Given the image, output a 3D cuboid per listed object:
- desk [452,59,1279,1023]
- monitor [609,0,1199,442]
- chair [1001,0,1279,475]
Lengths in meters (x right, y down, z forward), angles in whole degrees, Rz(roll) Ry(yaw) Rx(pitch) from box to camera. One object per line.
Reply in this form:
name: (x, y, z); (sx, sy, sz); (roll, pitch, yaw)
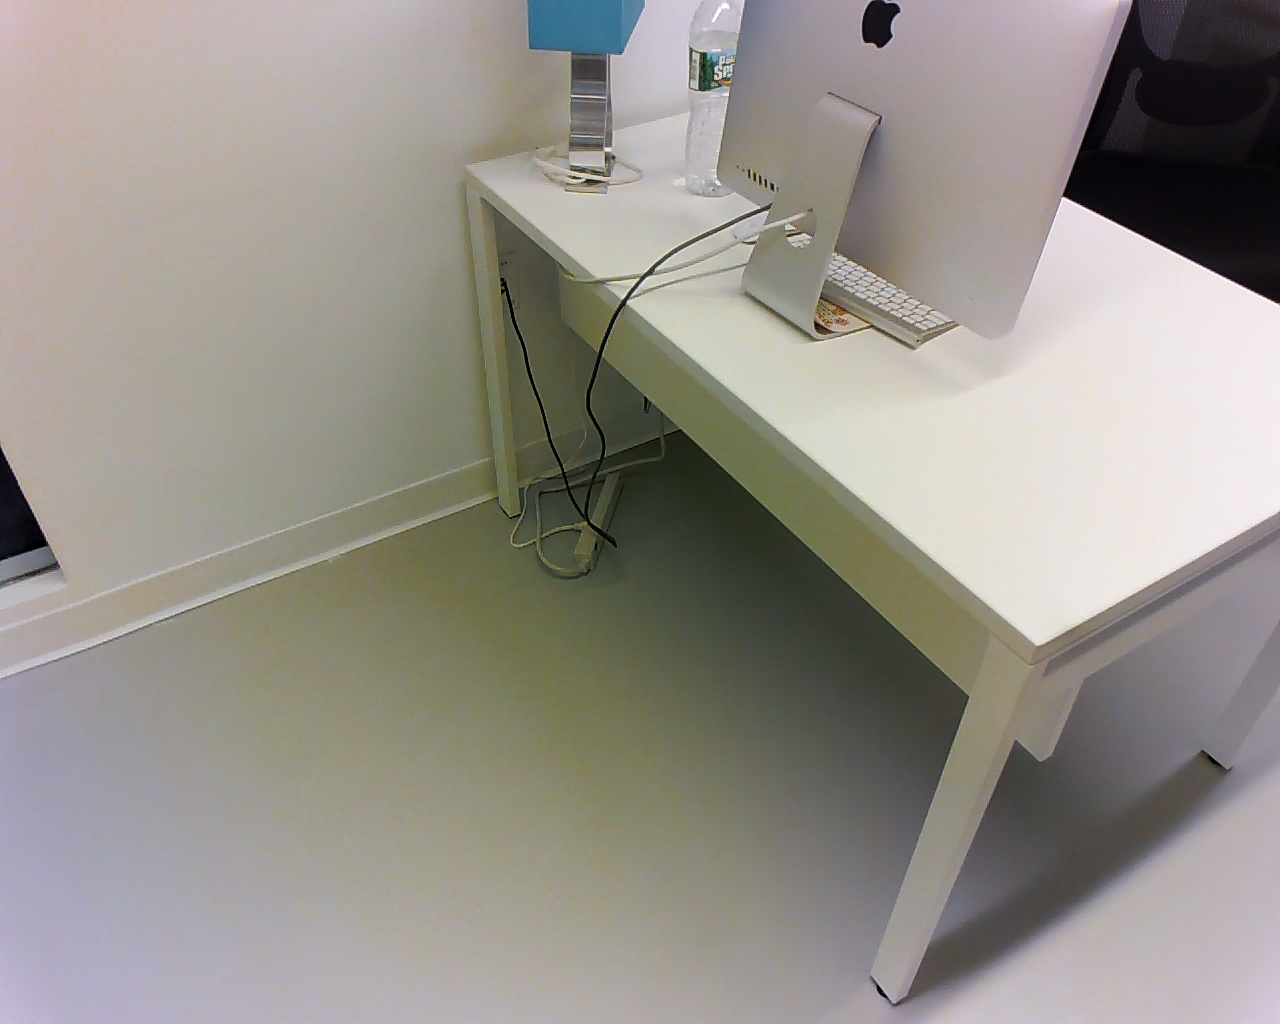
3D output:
desk: (0.400, -0.080, 1.740); (0.860, 0.750, 1.270); (-23, 47, -23)
monitor: (0.250, -0.480, 1.320); (0.280, 0.450, 0.650); (-23, 47, -23)
chair: (1.190, -0.680, 2.200); (0.630, 1.040, 0.510); (11, 43, 12)
